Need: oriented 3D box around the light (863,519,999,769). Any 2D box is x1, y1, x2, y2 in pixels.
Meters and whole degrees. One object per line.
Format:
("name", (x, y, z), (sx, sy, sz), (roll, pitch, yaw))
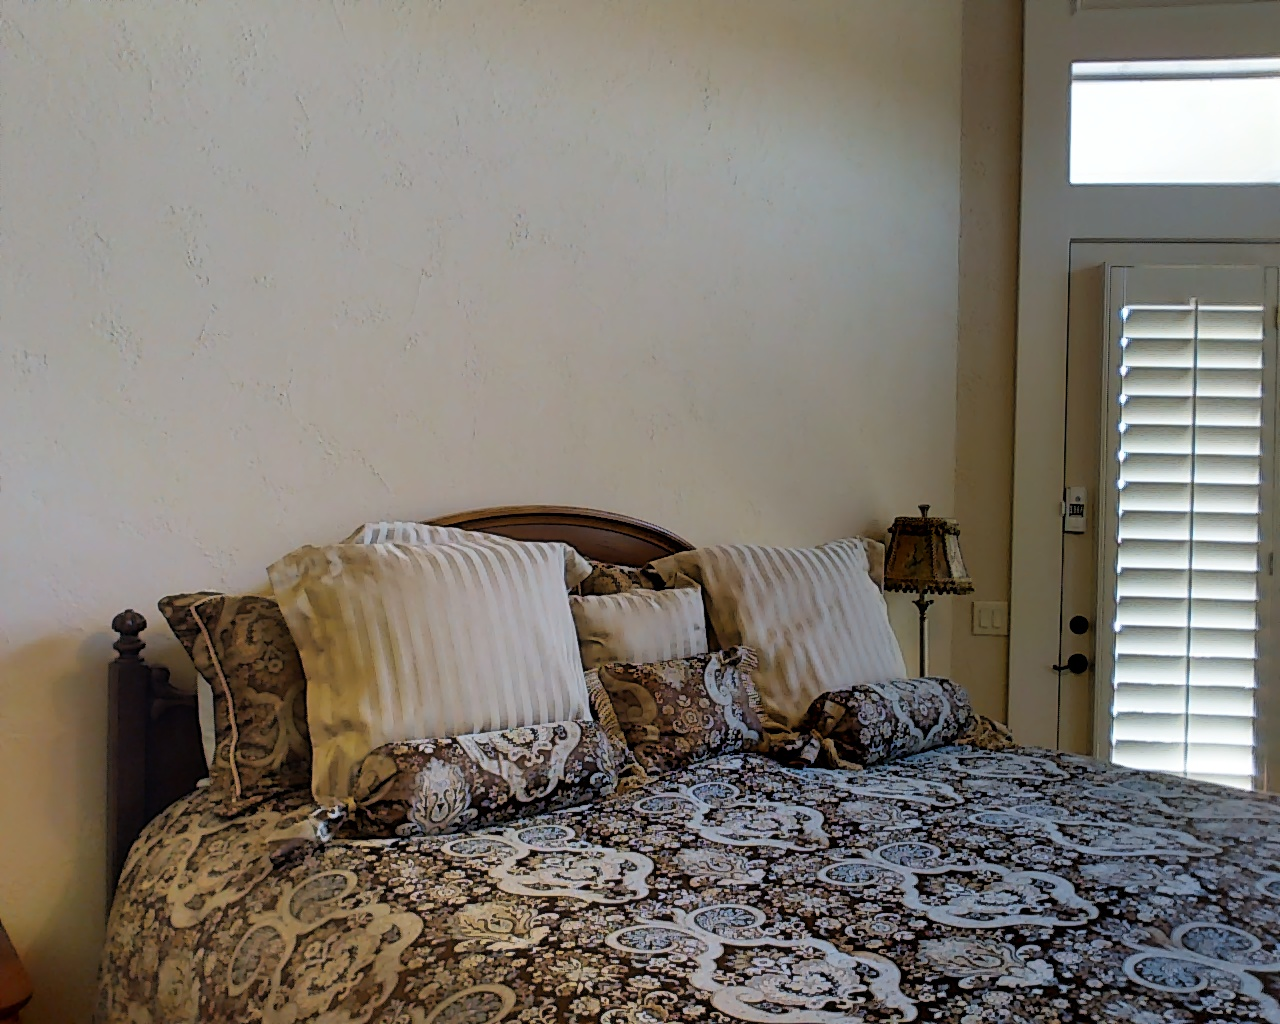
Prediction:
("light", (0.980, 0.420, 3.630), (0.310, 0.790, 0.310), (1, 0, -36))
